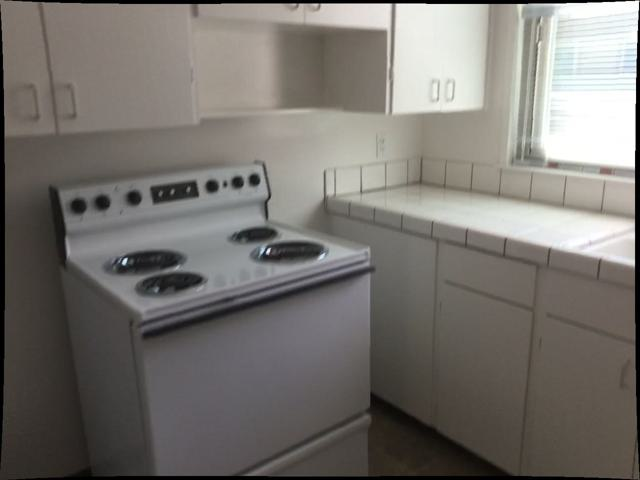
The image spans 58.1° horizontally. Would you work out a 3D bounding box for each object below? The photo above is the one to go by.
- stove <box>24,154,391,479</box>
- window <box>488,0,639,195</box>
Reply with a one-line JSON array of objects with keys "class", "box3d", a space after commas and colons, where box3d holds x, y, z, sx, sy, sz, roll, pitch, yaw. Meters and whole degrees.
[{"class": "stove", "box3d": [-0.349, 0.371, 1.960, 0.859, 1.132, 0.770, -15, 23, -35]}, {"class": "window", "box3d": [1.198, -0.771, 2.000, 0.270, 1.192, 1.169, -15, 23, -35]}]
